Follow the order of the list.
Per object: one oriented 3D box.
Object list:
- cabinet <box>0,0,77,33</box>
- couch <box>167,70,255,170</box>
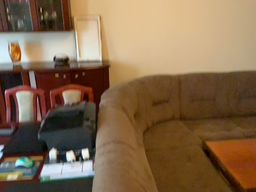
[{"bbox_3d":[-1.300,-0.990,2.100,1.470,0.690,0.250,-3,19,-6],"label":"cabinet"},{"bbox_3d":[1.320,0.210,2.550,1.460,0.860,0.810,-3,19,-6],"label":"couch"}]
